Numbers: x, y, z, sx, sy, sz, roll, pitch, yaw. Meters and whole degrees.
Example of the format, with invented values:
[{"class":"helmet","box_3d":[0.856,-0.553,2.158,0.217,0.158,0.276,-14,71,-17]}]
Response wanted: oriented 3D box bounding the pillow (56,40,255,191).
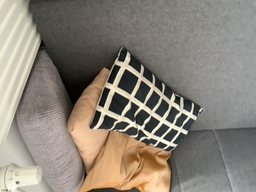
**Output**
[{"class":"pillow","box_3d":[0.040,0.170,0.860,0.550,0.350,0.570,10,141,-17]}]
